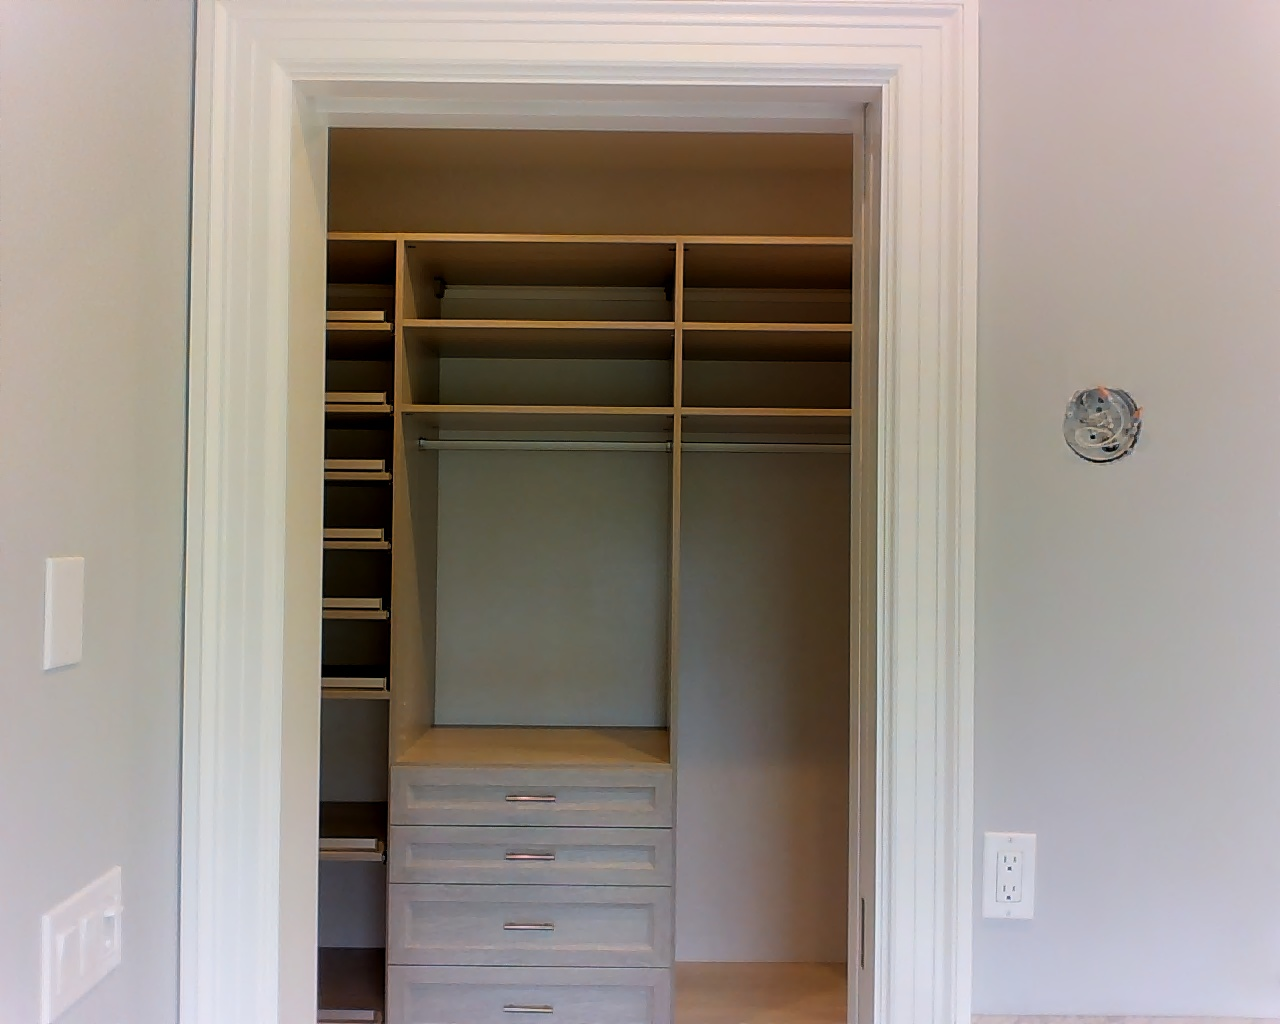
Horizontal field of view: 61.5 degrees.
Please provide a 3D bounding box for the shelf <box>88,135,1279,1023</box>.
[{"bbox_3d":[0.710,0.300,3.290,4.439,2.650,0.610,1,-1,0],"label":"shelf"}]
